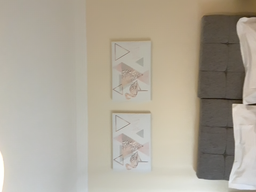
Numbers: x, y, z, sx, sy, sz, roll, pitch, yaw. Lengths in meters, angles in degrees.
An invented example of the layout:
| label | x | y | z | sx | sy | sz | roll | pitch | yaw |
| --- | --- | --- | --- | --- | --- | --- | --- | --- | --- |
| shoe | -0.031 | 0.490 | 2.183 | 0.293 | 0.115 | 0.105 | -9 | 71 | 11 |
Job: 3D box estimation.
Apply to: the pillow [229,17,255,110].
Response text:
| label | x | y | z | sx | sy | sz | roll | pitch | yaw |
| --- | --- | --- | --- | --- | --- | --- | --- | --- | --- |
| pillow | 1.180 | -0.270 | 1.830 | 0.110 | 0.510 | 0.790 | -8 | -80 | -63 |
